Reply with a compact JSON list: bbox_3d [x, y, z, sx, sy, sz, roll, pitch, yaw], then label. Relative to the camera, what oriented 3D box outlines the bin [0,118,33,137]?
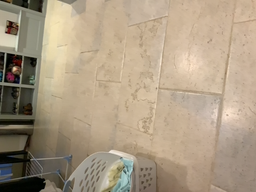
[{"bbox_3d":[-2.350,0.630,4.280,0.260,0.730,0.320,8,92,52],"label":"bin"}]

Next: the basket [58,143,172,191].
[{"bbox_3d":[-0.110,0.690,1.440,0.510,0.560,0.600,4,89,52],"label":"basket"}]
